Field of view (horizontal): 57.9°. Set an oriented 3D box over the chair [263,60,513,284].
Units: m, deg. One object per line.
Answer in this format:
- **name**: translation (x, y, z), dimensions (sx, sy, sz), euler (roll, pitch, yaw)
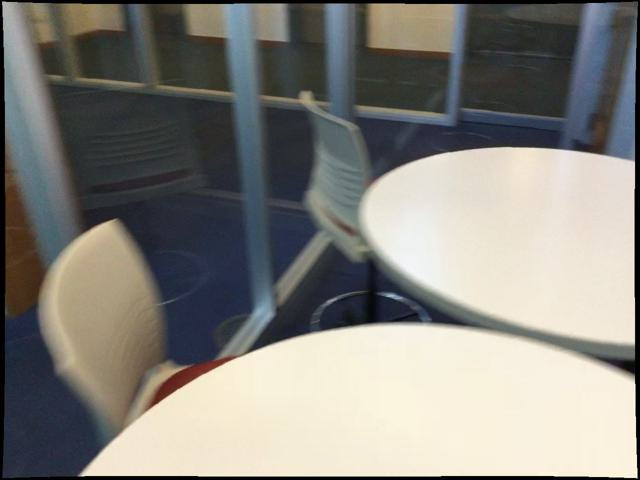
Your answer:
- **chair**: translation (0.190, -0.270, 1.940), dimensions (0.550, 0.460, 0.600), euler (-15, 34, -22)
